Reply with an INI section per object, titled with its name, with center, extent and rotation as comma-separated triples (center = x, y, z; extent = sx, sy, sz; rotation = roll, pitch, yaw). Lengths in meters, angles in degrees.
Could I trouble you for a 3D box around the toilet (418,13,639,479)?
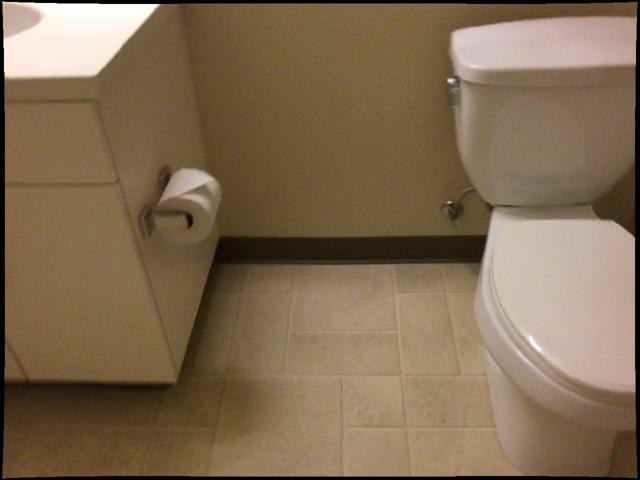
[toilet]
center = 0.529, 0.040, 1.270
extent = 0.489, 0.791, 0.791
rotation = -1, 39, 3
